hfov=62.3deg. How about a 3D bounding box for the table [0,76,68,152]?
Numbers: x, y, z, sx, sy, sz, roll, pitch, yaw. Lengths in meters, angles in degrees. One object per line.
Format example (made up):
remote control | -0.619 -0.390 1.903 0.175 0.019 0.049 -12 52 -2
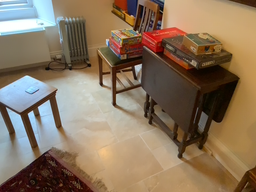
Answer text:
table | -0.790 0.140 1.770 0.370 0.420 0.370 15 39 16

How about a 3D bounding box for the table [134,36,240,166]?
table | 0.380 0.010 1.740 0.330 0.730 0.720 -15 41 -22

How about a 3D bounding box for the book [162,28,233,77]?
book | 0.450 -0.310 1.430 0.260 0.150 0.360 -15 41 -22

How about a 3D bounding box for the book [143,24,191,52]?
book | 0.300 -0.460 1.660 0.280 0.110 0.220 -15 41 -21

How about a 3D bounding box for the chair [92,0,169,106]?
chair | -0.010 -0.480 2.200 0.500 0.920 0.550 -15 41 -22
